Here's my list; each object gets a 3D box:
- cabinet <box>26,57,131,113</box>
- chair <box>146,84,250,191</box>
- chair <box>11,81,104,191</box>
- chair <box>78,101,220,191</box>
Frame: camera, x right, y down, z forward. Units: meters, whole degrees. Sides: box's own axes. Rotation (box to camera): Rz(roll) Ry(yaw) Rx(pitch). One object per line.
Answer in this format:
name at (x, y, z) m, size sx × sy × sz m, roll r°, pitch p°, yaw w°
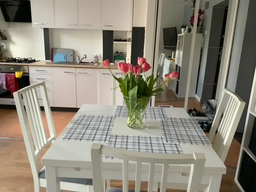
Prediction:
cabinet at (-0.840, -0.230, 3.900) m, size 1.730 × 0.840 × 0.580 m, roll 3°, pitch 15°, yaw 2°
chair at (0.420, 0.450, 1.540) m, size 0.530 × 0.980 × 0.420 m, roll 4°, pitch 15°, yaw 6°
chair at (-0.450, 0.420, 1.540) m, size 0.490 × 0.980 × 0.380 m, roll 3°, pitch 15°, yaw 1°
chair at (0.060, 0.580, 1.010) m, size 0.420 × 0.980 × 0.530 m, roll 4°, pitch 15°, yaw 5°
